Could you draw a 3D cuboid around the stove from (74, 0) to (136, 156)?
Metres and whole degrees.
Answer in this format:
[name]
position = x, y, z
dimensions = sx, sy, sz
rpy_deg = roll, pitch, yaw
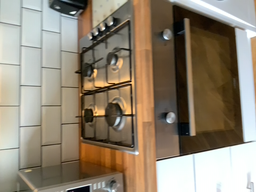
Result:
[stove]
position = -0.140, -0.050, 0.970
dimensions = 0.530, 0.020, 0.560
rpy_deg = -8, 82, 54
